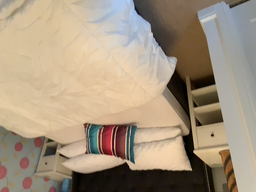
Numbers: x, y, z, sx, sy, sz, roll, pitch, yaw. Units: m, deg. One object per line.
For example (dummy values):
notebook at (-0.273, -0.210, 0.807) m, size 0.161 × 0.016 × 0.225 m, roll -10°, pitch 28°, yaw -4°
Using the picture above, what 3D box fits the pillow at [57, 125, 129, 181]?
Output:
pillow at (-0.410, 0.680, 2.480) m, size 0.640 × 0.480 × 0.290 m, roll -18°, pitch -170°, yaw 30°

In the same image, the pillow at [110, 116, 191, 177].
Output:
pillow at (0.230, 0.530, 2.190) m, size 0.690 × 0.430 × 0.240 m, roll -19°, pitch -174°, yaw 25°

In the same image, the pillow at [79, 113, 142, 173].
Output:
pillow at (-0.180, 0.450, 2.120) m, size 0.490 × 0.380 × 0.240 m, roll -22°, pitch -174°, yaw -9°
